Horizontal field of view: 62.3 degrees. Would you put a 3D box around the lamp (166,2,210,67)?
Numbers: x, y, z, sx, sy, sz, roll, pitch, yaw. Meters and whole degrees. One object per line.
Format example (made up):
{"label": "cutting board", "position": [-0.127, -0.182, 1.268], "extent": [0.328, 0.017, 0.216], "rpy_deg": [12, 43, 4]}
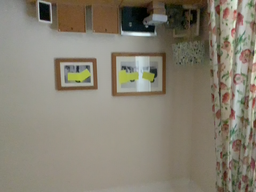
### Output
{"label": "lamp", "position": [0.560, -0.560, 2.020], "extent": [0.330, 0.560, 0.220], "rpy_deg": [-3, -172, -14]}

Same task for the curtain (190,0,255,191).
{"label": "curtain", "position": [0.740, -0.290, 1.470], "extent": [0.290, 2.780, 0.580], "rpy_deg": [-2, -172, -13]}
